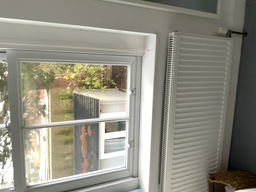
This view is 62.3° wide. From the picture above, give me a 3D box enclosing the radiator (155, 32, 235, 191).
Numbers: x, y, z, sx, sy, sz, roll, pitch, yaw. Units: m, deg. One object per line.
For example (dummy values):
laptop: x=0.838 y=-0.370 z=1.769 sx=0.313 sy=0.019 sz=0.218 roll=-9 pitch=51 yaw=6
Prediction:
radiator: x=0.440 y=0.260 z=1.420 sx=0.080 sy=0.530 sz=1.280 roll=18 pitch=108 yaw=62
